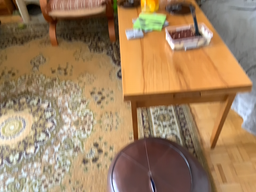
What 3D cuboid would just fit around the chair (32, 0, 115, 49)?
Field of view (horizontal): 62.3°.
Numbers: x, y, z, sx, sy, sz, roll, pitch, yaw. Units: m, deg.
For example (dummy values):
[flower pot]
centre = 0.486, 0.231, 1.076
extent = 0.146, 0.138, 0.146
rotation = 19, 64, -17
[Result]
[chair]
centre = -0.520, -1.150, 2.080
extent = 0.650, 0.960, 0.880
rotation = -6, 46, -2
